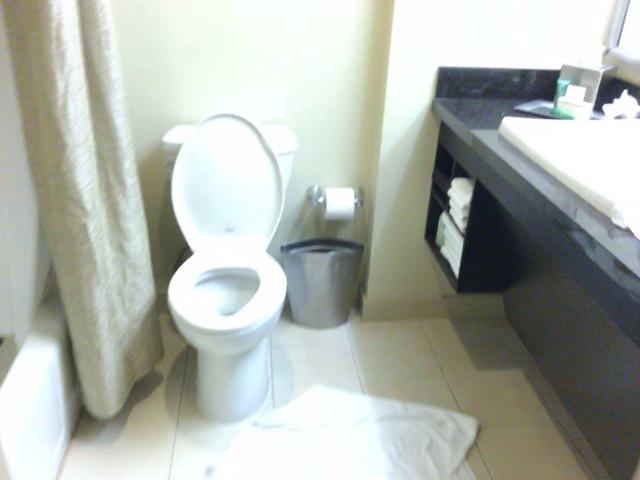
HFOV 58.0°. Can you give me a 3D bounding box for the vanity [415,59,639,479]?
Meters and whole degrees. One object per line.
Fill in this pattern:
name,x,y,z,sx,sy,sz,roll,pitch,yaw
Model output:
vanity,0.720,0.010,1.470,0.610,0.710,1.320,-3,25,-4
